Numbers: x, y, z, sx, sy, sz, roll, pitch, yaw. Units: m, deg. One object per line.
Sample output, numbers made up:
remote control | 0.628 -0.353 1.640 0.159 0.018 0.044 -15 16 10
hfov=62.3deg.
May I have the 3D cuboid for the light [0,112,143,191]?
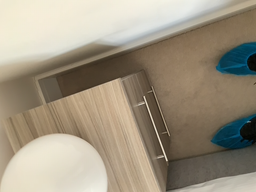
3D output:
light | -0.130 0.230 0.520 0.260 0.200 0.280 -16 97 15
